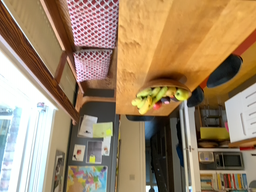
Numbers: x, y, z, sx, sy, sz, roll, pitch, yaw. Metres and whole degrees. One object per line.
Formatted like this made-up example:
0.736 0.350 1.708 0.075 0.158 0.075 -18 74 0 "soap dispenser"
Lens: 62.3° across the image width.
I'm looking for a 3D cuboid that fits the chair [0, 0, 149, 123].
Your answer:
-0.280 -0.400 1.530 0.550 0.850 1.800 1 162 -4 "chair"
